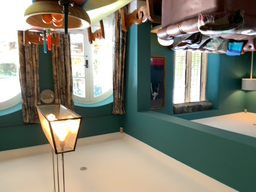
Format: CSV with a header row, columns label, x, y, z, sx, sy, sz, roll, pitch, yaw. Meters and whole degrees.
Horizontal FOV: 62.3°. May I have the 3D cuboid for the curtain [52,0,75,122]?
label,x,y,z,sx,sy,sz,roll,pitch,yaw
curtain,-1.130,-0.660,3.730,0.270,2.210,0.140,-4,-172,-32

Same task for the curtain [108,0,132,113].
label,x,y,z,sx,sy,sz,roll,pitch,yaw
curtain,-0.160,-0.750,4.230,0.270,2.130,0.420,-5,-172,-33

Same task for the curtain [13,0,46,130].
label,x,y,z,sx,sy,sz,roll,pitch,yaw
curtain,-1.580,-0.590,3.410,0.350,2.250,0.190,-4,-172,-32
